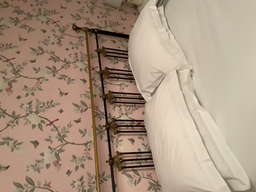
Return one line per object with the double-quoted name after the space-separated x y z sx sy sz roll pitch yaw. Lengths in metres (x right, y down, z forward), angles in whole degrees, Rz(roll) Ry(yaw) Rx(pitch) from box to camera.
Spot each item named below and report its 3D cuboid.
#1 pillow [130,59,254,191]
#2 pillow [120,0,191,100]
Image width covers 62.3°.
0.290 0.240 1.300 0.500 0.260 0.770 119 147 -48 "pillow"
0.170 -0.380 1.710 0.470 0.240 0.670 120 146 -49 "pillow"
